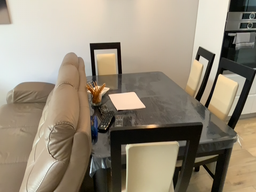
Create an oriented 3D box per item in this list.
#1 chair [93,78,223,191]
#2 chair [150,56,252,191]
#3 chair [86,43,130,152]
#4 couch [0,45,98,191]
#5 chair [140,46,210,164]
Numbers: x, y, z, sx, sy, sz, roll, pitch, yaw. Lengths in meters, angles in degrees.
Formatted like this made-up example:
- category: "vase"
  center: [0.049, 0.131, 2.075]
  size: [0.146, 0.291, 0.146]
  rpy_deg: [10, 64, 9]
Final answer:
- category: "chair"
  center: [0.080, 0.490, 1.170]
  size: [0.470, 1.050, 0.470]
  rpy_deg: [-4, 24, -8]
- category: "chair"
  center: [0.490, 0.270, 1.660]
  size: [0.470, 1.050, 0.410]
  rpy_deg: [-7, 25, -15]
- category: "chair"
  center: [-0.210, 0.010, 2.270]
  size: [0.380, 1.040, 0.470]
  rpy_deg: [-4, 24, -9]
- category: "couch"
  center: [-0.830, 0.250, 1.810]
  size: [0.980, 0.970, 1.880]
  rpy_deg: [-5, 25, -12]
- category: "chair"
  center: [0.400, 0.090, 2.080]
  size: [0.470, 1.050, 0.410]
  rpy_deg: [-4, 24, -9]
